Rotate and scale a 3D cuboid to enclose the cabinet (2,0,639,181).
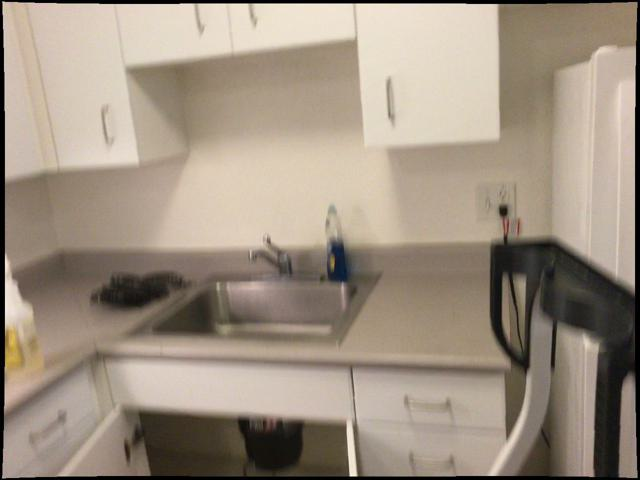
[{"bbox_3d":[-0.070,-0.762,1.630,1.796,1.053,0.340,-1,15,19],"label":"cabinet"}]
